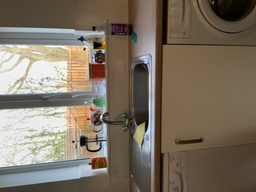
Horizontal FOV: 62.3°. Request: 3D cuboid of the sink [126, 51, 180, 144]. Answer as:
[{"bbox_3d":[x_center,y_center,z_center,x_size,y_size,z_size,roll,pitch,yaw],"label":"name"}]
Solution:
[{"bbox_3d":[0.140,-0.020,1.450,0.540,0.170,0.520,-154,63,-74],"label":"sink"}]
